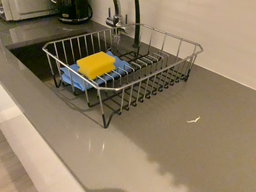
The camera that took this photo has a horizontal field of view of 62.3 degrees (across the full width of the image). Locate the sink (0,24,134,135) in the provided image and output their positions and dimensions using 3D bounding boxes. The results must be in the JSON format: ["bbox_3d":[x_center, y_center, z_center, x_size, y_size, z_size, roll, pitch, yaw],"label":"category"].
[{"bbox_3d":[-0.250,-0.110,0.910,0.390,0.230,0.370,-26,46,-35],"label":"sink"}]
